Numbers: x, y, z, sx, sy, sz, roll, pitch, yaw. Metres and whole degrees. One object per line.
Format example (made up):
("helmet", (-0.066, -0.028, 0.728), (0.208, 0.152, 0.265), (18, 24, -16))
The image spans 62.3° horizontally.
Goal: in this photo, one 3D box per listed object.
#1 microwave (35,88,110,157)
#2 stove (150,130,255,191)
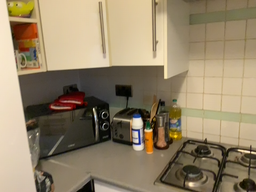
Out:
("microwave", (-0.370, 0.140, 1.390), (0.390, 0.290, 0.370), (-8, 14, -20))
("stove", (0.500, 0.320, 1.020), (0.610, 0.030, 0.540), (5, 16, 30))
